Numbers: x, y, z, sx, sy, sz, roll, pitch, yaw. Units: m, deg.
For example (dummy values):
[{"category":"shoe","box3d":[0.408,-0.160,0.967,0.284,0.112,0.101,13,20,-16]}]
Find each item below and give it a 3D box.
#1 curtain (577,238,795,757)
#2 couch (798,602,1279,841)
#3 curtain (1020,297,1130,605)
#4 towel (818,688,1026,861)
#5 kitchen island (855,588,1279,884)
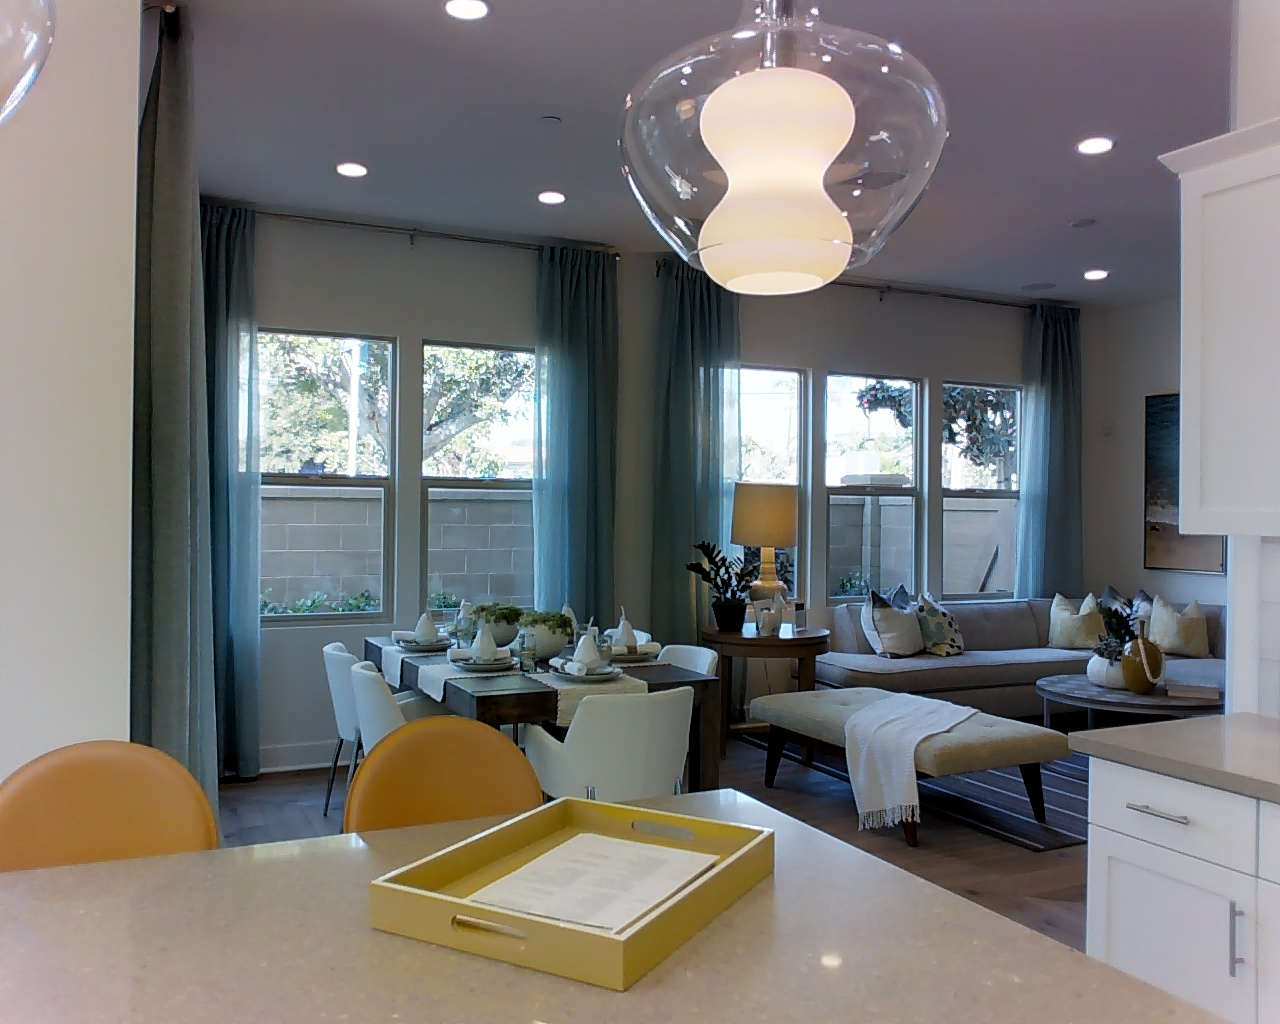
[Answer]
[{"category":"curtain","box3d":[0.300,-0.070,6.710,1.260,3.051,0.340,2,0,-25]},{"category":"couch","box3d":[3.009,1.090,6.620,3.069,0.790,2.600,2,0,-25]},{"category":"curtain","box3d":[3.309,-0.440,8.150,0.700,2.261,0.320,2,0,-25]},{"category":"towel","box3d":[1.399,1.221,5.190,0.520,0.520,1.250,2,0,37]},{"category":"kitchen island","box3d":[2.619,1.020,5.890,1.330,0.960,2.890,2,0,-25]}]
